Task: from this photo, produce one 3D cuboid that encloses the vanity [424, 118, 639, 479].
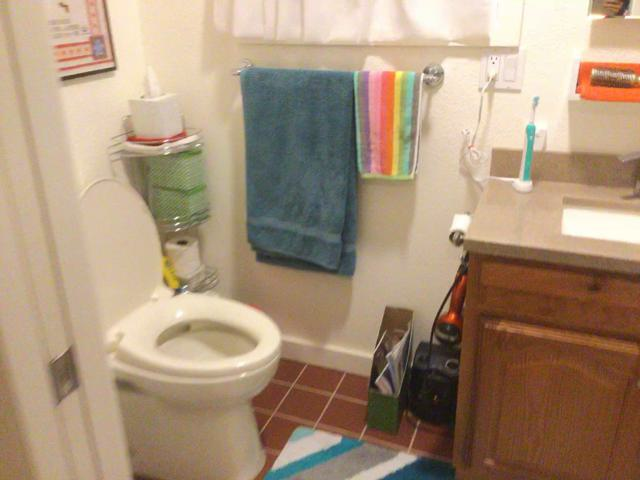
[{"bbox_3d":[0.790,0.230,1.440,0.940,0.960,0.490,6,22,22],"label":"vanity"}]
